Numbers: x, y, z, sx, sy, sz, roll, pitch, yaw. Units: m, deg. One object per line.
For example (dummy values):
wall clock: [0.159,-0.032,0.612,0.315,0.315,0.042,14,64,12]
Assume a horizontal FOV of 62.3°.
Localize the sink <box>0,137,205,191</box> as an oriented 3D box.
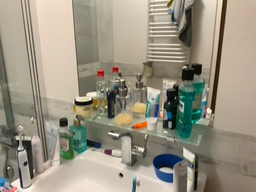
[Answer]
sink: [-0.090,0.360,0.750,0.610,0.120,0.450,9,19,27]
